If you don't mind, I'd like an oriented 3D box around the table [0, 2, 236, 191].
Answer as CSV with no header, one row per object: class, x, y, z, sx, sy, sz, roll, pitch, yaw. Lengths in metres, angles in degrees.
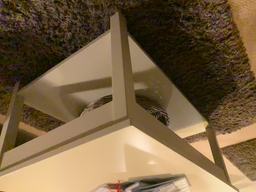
table,0.000,0.230,1.060,0.670,0.460,1.010,-25,139,26
